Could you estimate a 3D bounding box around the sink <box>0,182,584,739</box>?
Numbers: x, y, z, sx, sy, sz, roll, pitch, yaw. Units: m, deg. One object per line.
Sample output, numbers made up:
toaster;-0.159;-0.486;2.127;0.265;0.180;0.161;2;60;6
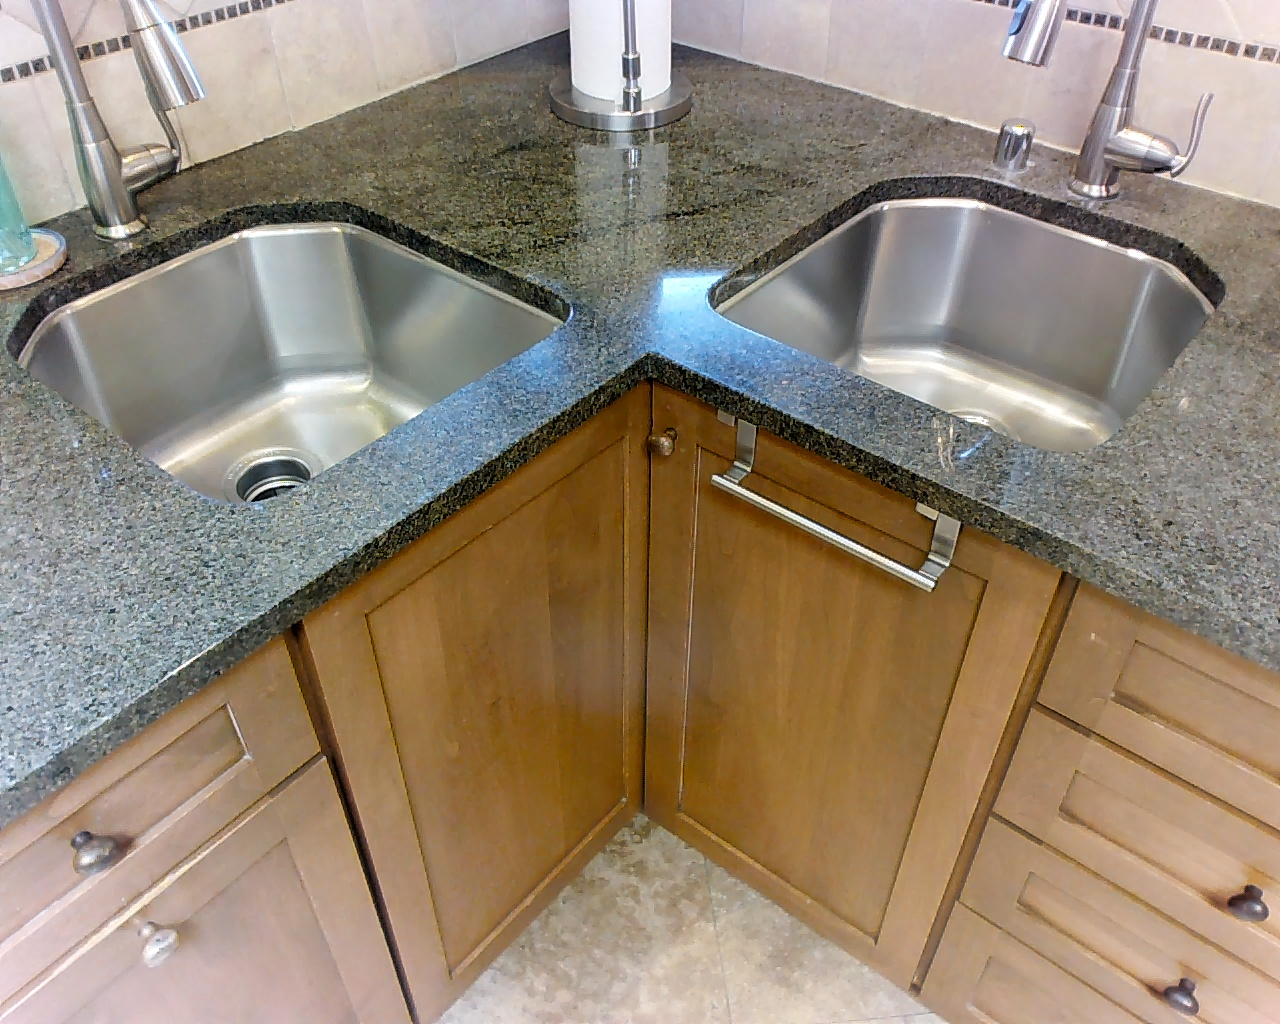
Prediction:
sink;-0.370;-0.090;1.150;0.460;0.290;0.400;28;48;29
